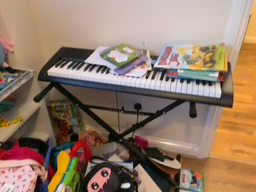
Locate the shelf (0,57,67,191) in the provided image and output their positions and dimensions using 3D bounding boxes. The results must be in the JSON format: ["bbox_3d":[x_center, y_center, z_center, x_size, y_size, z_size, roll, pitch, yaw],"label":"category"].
[{"bbox_3d":[-0.720,0.240,1.210,0.370,0.730,0.560,8,36,13],"label":"shelf"}]
